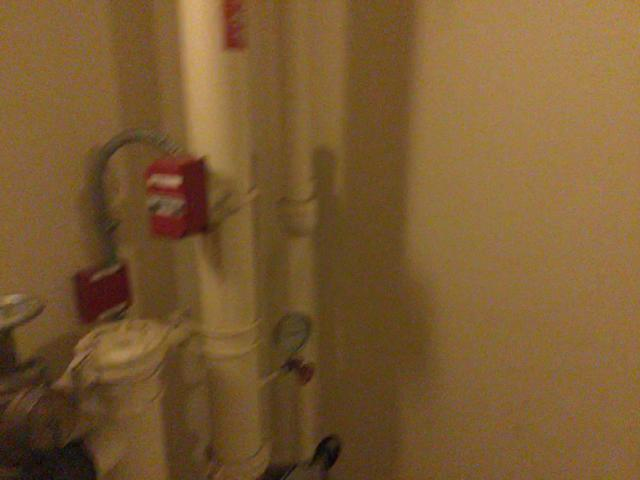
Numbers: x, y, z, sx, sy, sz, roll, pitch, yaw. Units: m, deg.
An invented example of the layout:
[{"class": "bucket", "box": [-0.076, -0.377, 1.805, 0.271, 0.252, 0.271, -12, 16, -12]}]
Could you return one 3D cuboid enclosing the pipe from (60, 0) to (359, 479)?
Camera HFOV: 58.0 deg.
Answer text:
[{"class": "pipe", "box": [-0.190, -0.380, 1.210, 0.360, 2.940, 0.530, 10, 18, 23]}]
